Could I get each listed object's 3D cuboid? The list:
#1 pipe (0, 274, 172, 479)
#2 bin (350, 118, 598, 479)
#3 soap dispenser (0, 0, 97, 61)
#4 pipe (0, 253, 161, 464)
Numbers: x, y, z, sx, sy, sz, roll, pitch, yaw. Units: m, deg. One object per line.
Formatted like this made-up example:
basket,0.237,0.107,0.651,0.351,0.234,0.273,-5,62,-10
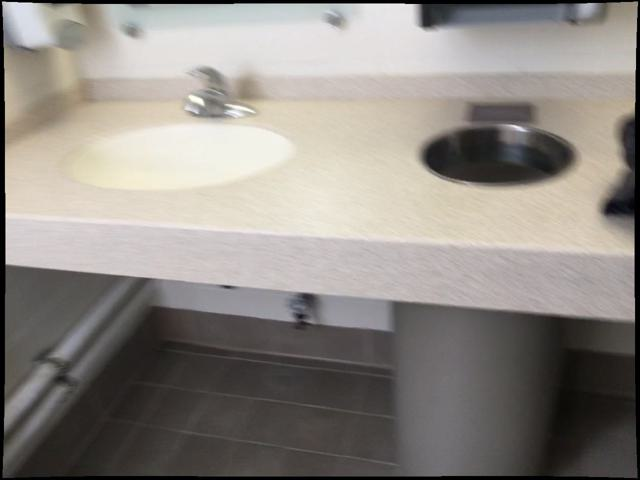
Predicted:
pipe,-0.639,0.370,1.580,0.060,0.120,0.770,4,34,19
bin,0.330,0.200,1.250,0.370,0.831,0.360,4,34,19
soap dispenser,-0.649,-0.561,1.300,0.130,0.260,0.170,4,34,19
pipe,-0.659,0.290,1.540,0.060,0.090,0.770,4,34,19
